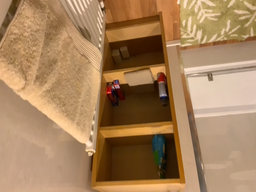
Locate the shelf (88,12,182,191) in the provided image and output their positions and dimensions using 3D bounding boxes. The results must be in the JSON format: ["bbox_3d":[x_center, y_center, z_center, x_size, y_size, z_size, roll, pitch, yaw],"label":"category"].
[{"bbox_3d":[0.050,-0.010,1.320,0.420,1.060,0.300,-6,149,10],"label":"shelf"}]

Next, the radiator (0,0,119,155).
[{"bbox_3d":[-0.210,-0.280,0.860,0.160,0.850,0.690,-7,149,11],"label":"radiator"}]
